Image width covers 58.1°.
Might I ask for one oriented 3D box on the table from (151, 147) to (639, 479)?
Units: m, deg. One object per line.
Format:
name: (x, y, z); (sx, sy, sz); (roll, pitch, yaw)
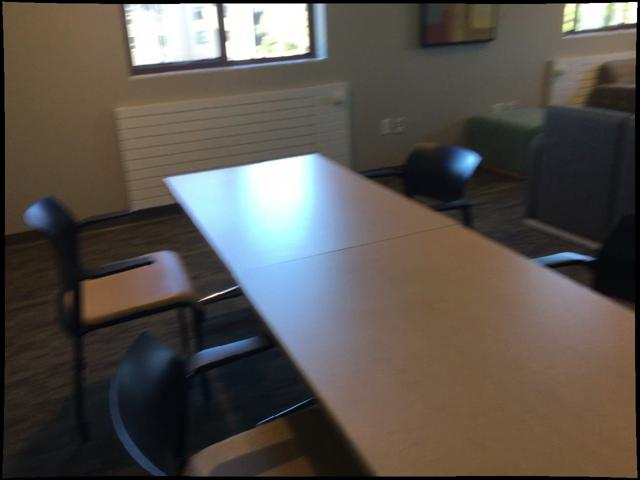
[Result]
table: (0.120, 0.341, 1.930); (0.858, 0.712, 2.500); (-13, 24, -20)

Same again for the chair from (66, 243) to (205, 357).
chair: (-0.758, 0.211, 2.310); (0.449, 0.120, 0.580); (-13, 24, -20)

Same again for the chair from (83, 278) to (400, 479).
chair: (-0.190, 0.431, 1.210); (0.469, 0.401, 0.600); (-13, 24, -20)
